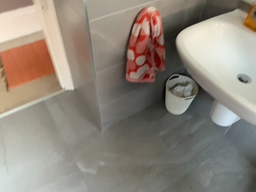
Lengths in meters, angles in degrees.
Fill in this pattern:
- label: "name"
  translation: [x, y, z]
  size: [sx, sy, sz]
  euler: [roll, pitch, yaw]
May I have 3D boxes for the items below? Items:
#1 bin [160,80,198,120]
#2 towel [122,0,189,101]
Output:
- label: "bin"
  translation: [0.380, 0.030, 1.610]
  size: [0.160, 0.190, 0.180]
  euler: [-26, 57, -23]
- label: "towel"
  translation: [0.130, -0.230, 1.200]
  size: [0.310, 0.530, 0.090]
  euler: [-25, 56, -22]
